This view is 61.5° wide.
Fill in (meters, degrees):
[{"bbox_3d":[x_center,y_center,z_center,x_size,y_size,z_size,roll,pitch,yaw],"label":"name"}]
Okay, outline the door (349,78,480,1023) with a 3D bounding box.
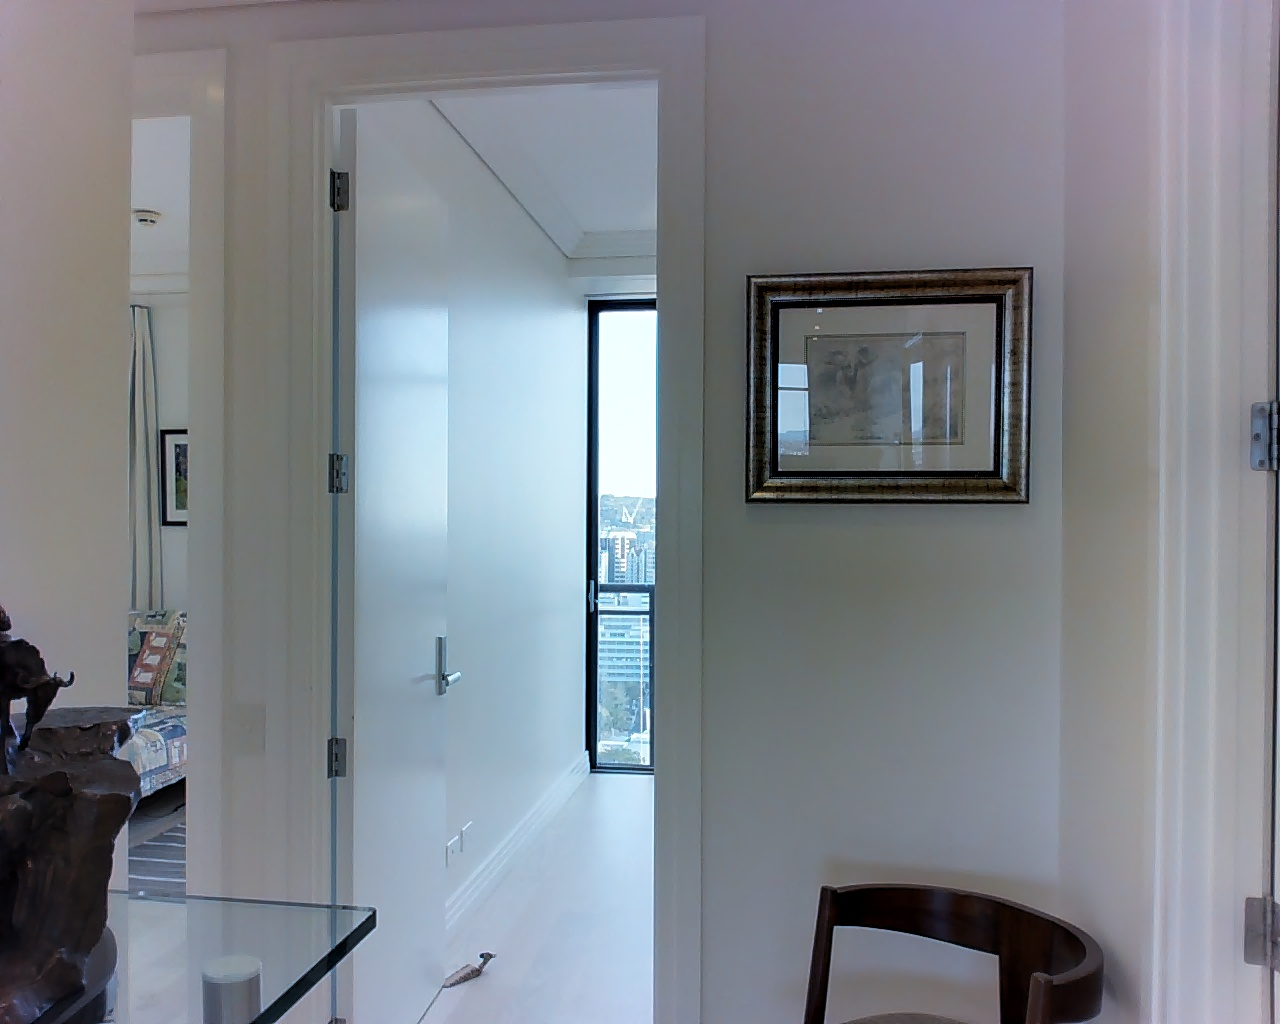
[{"bbox_3d":[-0.580,0.180,2.870,0.070,2.361,0.780,0,0,8],"label":"door"}]
